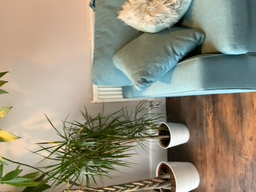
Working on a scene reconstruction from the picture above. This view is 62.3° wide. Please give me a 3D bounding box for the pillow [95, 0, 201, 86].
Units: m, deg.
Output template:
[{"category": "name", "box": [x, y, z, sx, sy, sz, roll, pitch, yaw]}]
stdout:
[{"category": "pillow", "box": [0.160, -0.290, 1.290, 0.480, 0.500, 0.240, 30, 100, 17]}]
